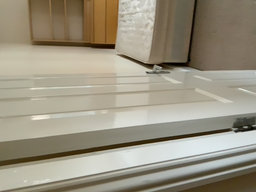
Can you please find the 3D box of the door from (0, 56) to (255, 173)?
[{"bbox_3d":[0.260,-0.060,1.060,0.820,2.030,0.110,-138,49,-60],"label":"door"}]
